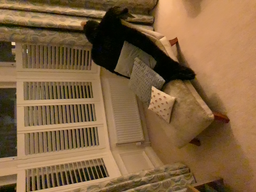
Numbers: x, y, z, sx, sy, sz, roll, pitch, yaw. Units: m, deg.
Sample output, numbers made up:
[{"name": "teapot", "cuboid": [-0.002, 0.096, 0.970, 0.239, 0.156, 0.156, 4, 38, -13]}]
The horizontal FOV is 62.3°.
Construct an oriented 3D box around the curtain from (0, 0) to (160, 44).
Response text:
[{"name": "curtain", "cuboid": [-0.970, -1.100, 2.350, 0.170, 3.000, 0.790, -150, 62, -61]}]
